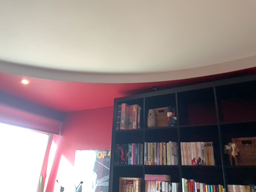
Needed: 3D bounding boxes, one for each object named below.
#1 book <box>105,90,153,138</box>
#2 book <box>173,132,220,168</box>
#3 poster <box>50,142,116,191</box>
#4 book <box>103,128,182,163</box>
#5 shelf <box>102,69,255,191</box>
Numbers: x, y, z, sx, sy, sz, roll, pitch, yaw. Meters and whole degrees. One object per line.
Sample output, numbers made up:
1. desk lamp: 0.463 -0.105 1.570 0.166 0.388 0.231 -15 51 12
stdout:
1. book: 0.030 0.230 2.440 0.340 0.410 0.450 -12 -25 33
2. book: 0.660 0.530 2.030 0.330 0.280 0.410 -10 -24 29
3. poster: -0.610 1.180 2.720 0.950 1.130 0.080 -8 -23 27
4. book: 0.160 0.560 2.290 0.730 0.290 0.400 -9 -24 29
5. shelf: 0.520 0.650 2.040 1.540 1.530 0.390 -9 -23 28
